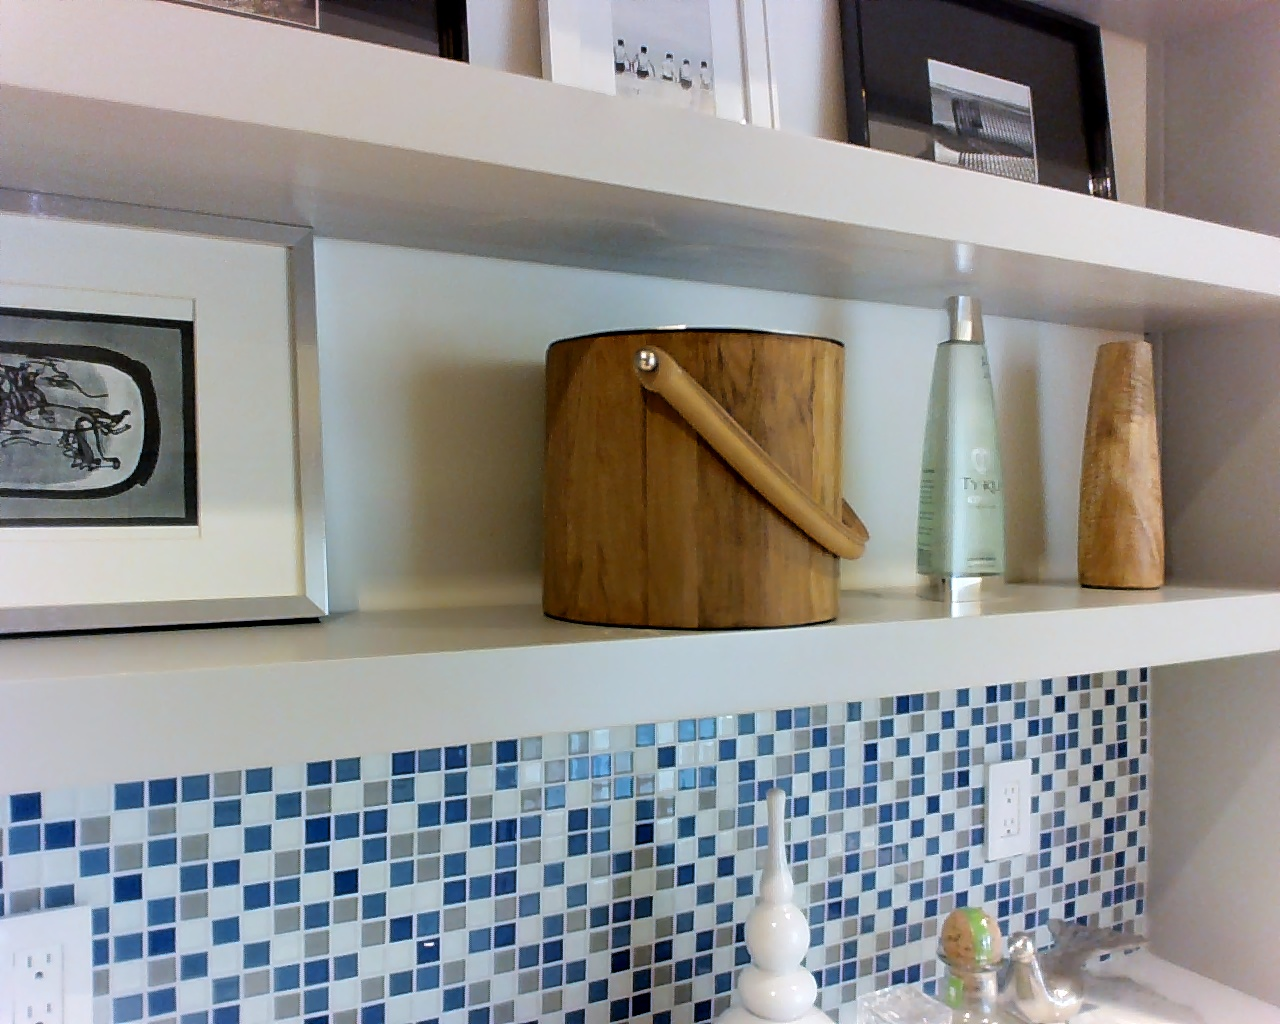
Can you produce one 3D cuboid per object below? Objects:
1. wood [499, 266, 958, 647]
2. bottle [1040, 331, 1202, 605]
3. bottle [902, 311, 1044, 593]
[{"bbox_3d":[0.070,-0.040,0.950,0.310,0.270,0.260,0,1,-29],"label":"wood"},{"bbox_3d":[0.580,-0.050,1.300,0.120,0.310,0.130,0,1,-26],"label":"bottle"},{"bbox_3d":[0.350,-0.060,1.130,0.120,0.280,0.080,0,1,-29],"label":"bottle"}]
